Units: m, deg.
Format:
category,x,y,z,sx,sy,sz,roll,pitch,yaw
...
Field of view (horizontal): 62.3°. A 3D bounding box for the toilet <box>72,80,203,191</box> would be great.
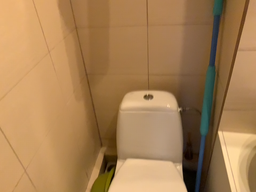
category,x,y,z,sx,sy,sz,roll,pitch,yaw
toilet,0.090,0.430,1.070,0.390,0.760,0.690,2,37,9
